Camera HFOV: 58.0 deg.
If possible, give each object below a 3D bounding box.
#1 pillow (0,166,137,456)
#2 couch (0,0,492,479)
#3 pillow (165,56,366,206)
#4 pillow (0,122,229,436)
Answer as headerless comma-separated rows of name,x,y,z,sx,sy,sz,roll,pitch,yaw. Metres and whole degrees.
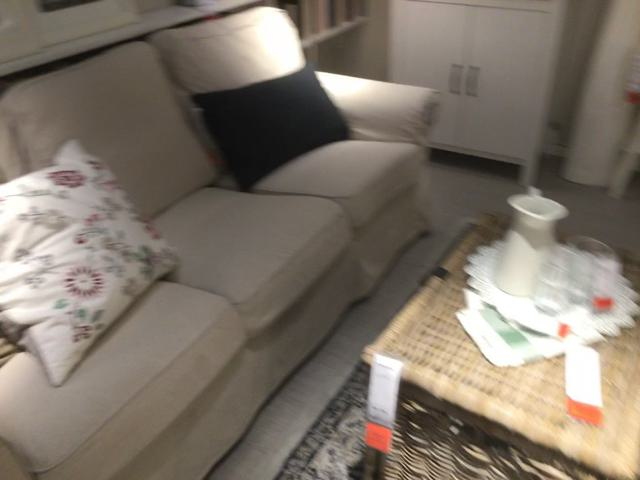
pillow,-0.740,0.110,1.200,0.510,0.390,0.380,17,37,31
couch,-0.440,-0.110,1.790,1.100,1.000,2.140,17,37,31
pillow,-0.160,-0.430,2.110,0.340,0.280,0.690,17,37,31
pillow,-0.590,0.040,1.350,0.480,0.420,0.500,17,37,31
